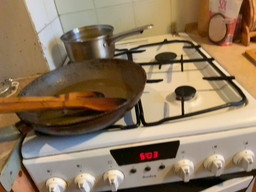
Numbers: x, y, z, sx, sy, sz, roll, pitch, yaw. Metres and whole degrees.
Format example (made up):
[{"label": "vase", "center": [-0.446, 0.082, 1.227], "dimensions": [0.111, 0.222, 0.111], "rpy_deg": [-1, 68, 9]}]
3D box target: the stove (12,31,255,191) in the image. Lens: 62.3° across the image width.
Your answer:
[{"label": "stove", "center": [0.030, -0.020, 0.690], "dimensions": [0.510, 0.150, 0.610], "rpy_deg": [-8, 31, 2]}]
